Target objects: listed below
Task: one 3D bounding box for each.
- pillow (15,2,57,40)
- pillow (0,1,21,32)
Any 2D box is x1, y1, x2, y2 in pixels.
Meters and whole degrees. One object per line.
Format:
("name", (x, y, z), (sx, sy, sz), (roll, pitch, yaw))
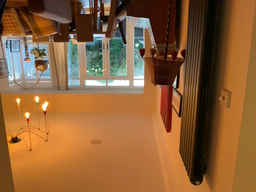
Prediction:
("pillow", (-1.550, -1.280, 3.640), (0.550, 0.480, 0.210), (11, -127, -3))
("pillow", (-2.150, -1.390, 3.690), (0.370, 0.420, 0.250), (4, -143, -3))
